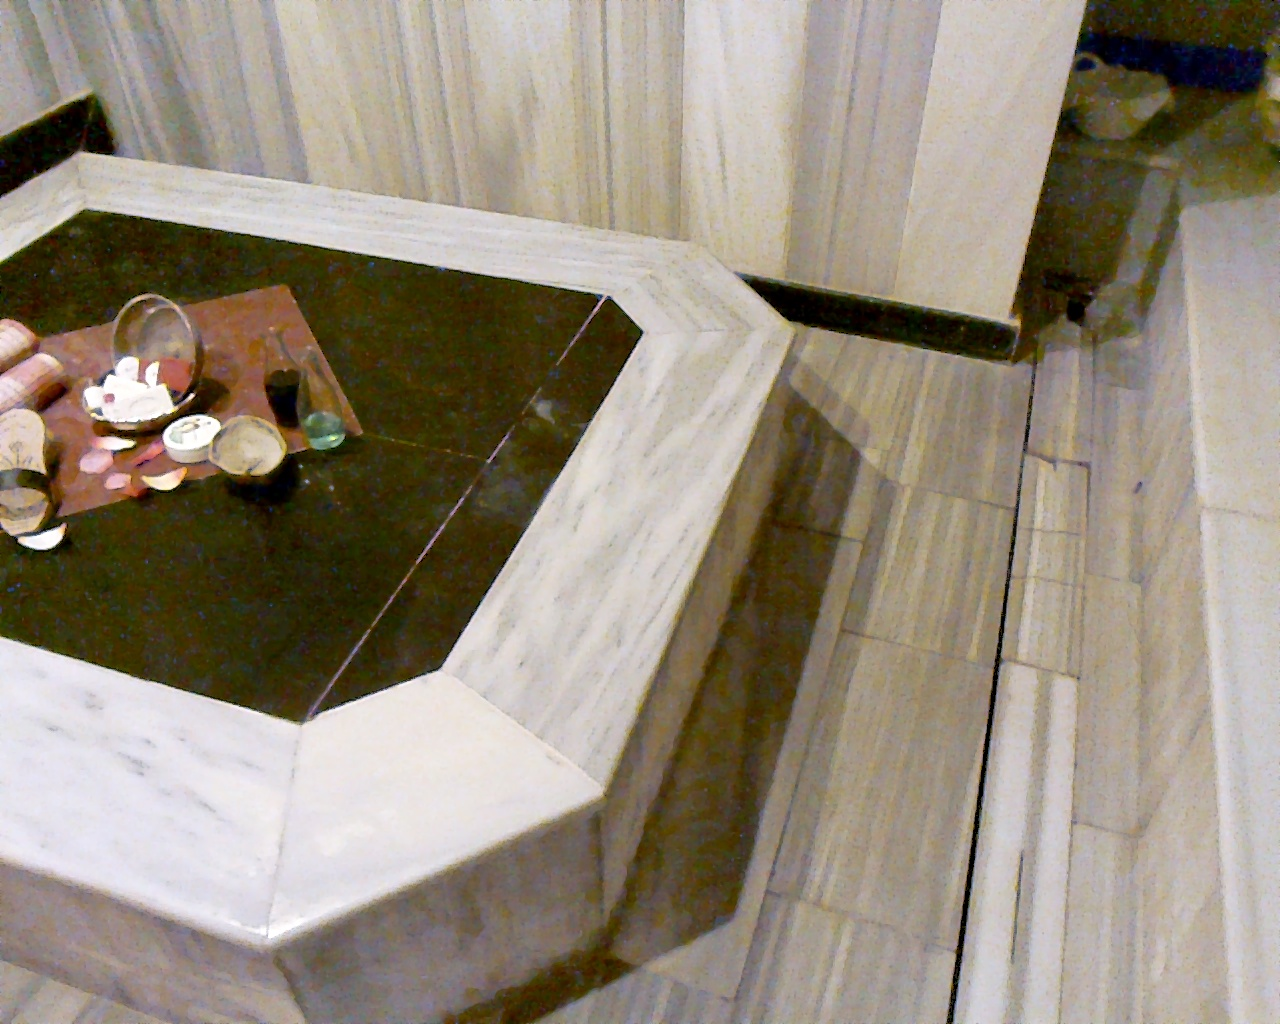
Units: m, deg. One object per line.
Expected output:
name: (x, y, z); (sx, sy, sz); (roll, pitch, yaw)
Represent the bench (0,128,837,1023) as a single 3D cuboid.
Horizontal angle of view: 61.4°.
bench: (-0.820, -0.060, 2.180); (2.050, 0.470, 1.860); (13, 43, 14)
